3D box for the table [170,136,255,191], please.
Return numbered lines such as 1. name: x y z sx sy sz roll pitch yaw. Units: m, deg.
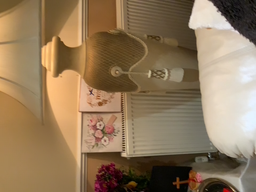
1. table: 0.590 0.590 1.080 0.630 0.430 0.750 151 119 -68
